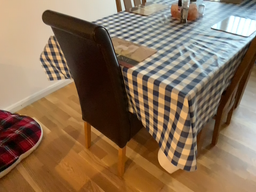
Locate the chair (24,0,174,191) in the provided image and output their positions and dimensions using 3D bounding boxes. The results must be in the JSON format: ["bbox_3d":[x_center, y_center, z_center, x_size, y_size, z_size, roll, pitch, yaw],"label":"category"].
[{"bbox_3d":[-0.100,-0.010,1.220,0.400,0.980,0.510,27,46,31],"label":"chair"}]
